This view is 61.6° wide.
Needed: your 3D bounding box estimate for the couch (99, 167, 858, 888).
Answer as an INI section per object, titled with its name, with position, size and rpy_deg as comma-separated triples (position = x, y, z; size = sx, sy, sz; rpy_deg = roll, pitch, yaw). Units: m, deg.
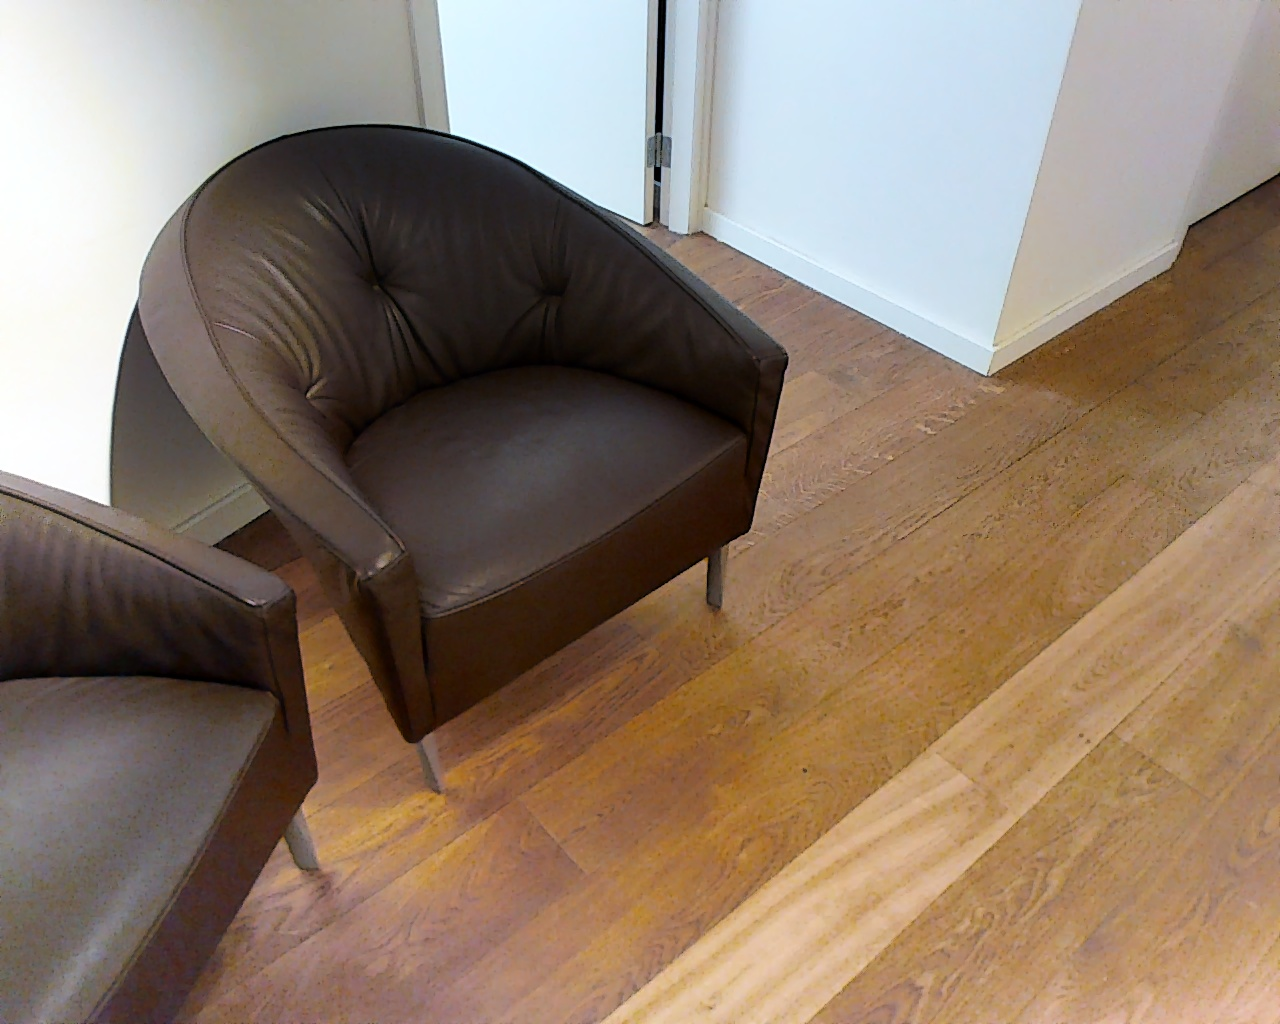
[couch]
position = -0.200, -0.030, 1.690
size = 0.900, 0.650, 0.520
rpy_deg = -29, 49, -30
